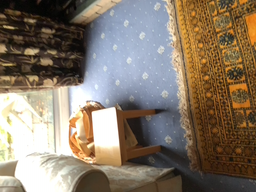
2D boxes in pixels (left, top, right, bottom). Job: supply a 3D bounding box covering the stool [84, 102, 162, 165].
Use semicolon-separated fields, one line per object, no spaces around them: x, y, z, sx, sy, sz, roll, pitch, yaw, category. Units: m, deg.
-0.030;0.220;1.320;0.280;0.350;0.310;-15;80;47;stool
